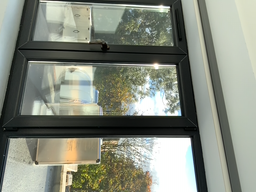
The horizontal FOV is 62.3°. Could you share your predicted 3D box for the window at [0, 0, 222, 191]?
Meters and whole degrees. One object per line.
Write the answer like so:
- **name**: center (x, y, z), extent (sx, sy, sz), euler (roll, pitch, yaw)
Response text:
- **window**: center (-0.170, -0.290, 1.610), extent (0.080, 1.440, 2.300), euler (105, -15, -67)
